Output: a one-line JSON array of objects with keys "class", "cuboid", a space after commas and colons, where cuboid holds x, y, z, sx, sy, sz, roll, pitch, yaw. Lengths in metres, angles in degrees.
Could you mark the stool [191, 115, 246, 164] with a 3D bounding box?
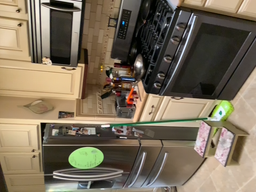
[{"class": "stool", "cuboid": [0.850, 0.410, 2.040, 0.320, 0.280, 0.340, -129, 46, -67]}]
